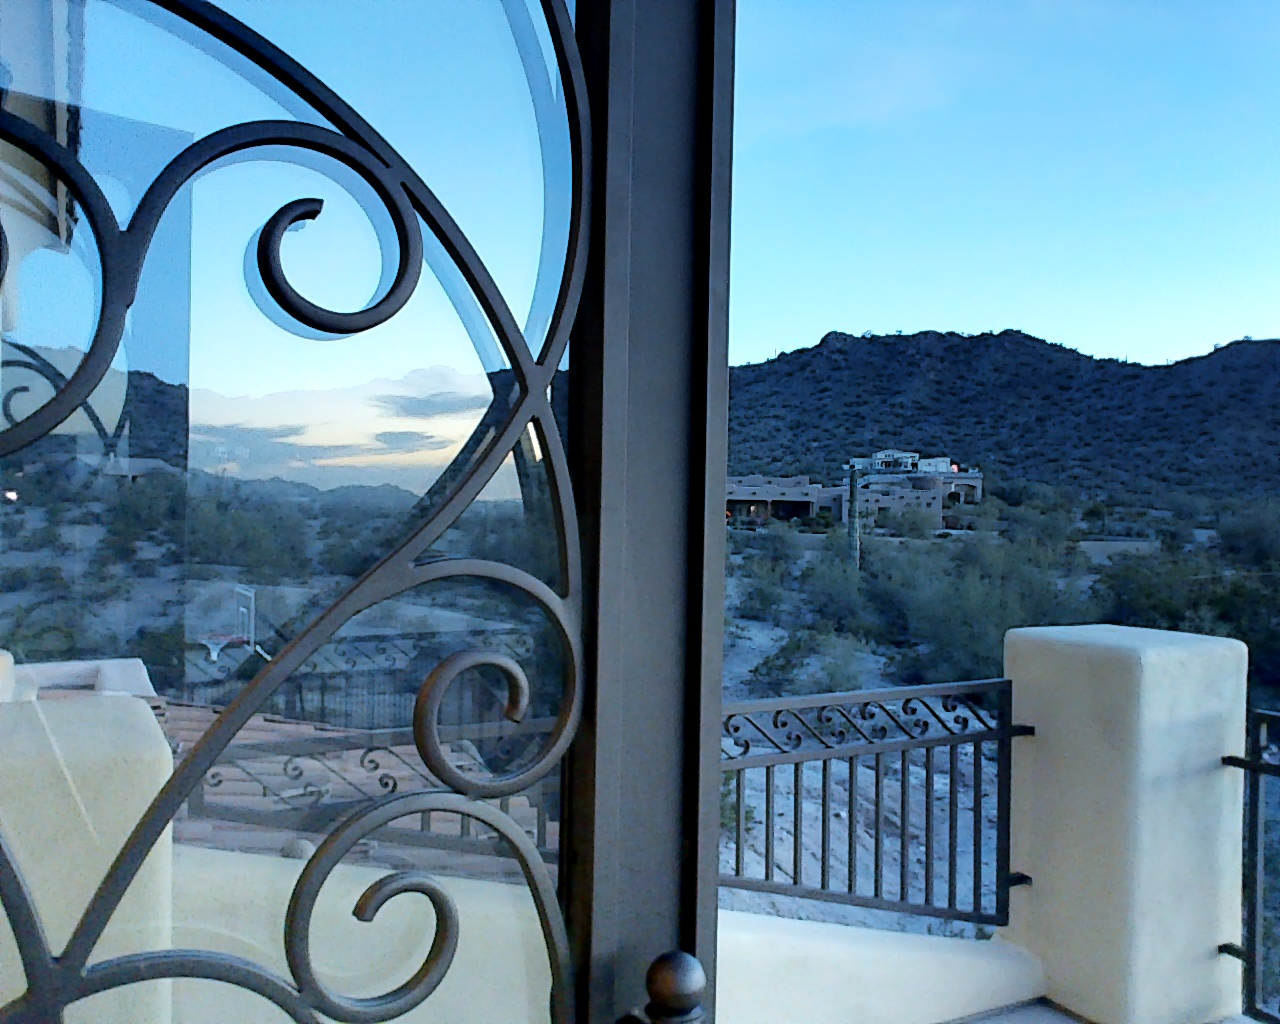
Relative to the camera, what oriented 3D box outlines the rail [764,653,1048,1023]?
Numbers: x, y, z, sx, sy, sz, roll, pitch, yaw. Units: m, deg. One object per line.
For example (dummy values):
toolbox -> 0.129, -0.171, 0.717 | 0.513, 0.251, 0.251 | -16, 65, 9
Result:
rail -> 0.840, 1.030, 3.290 | 0.980, 1.110, 0.170 | 0, 0, -28
